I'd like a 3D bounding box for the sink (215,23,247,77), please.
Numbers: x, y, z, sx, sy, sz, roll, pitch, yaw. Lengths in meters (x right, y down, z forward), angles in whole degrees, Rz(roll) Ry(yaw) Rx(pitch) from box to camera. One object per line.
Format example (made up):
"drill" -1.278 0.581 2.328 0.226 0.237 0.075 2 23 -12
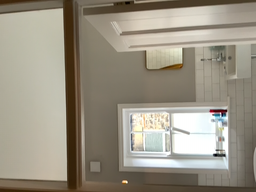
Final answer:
"sink" 1.220 -0.520 2.550 0.500 0.190 0.540 -4 -87 -81
